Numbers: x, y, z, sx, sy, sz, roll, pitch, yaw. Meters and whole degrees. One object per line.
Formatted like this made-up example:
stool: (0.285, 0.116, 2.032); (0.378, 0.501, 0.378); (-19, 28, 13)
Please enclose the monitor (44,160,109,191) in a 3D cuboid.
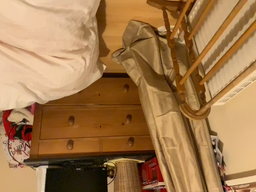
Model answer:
monitor: (-0.360, 0.620, 1.530); (0.450, 0.300, 0.060); (8, 151, -27)
